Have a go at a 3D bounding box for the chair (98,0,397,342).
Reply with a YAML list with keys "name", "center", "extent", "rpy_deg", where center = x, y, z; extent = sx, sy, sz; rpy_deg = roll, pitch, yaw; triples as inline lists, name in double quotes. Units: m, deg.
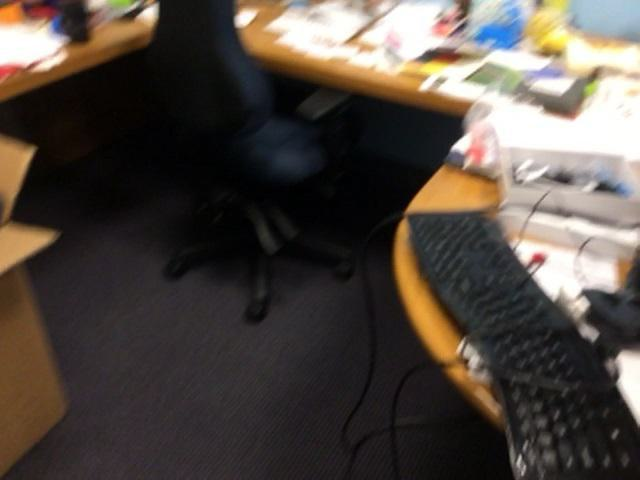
- name: "chair"
  center: [-0.160, -0.350, 1.690]
  extent: [0.540, 1.060, 0.560]
  rpy_deg: [18, 40, 23]
